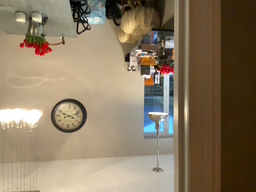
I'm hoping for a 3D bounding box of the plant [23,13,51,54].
[{"bbox_3d":[-1.000,-0.680,2.350,0.240,0.380,0.240,0,-179,-11],"label":"plant"}]
